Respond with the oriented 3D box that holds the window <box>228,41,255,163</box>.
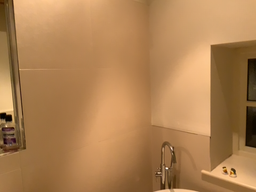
[{"bbox_3d":[1.310,0.080,1.830,0.050,1.120,0.830,-9,10,-43],"label":"window"}]
